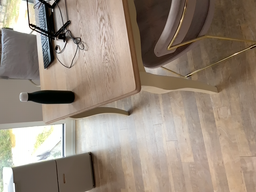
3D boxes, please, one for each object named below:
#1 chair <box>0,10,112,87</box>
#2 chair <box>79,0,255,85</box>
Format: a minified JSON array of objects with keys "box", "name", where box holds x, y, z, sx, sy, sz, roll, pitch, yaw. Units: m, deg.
[{"box":[-0.670,-0.350,1.970,0.590,0.870,0.460,-2,88,45],"name":"chair"},{"box":[0.230,-0.400,1.160,0.590,0.740,0.520,-16,78,44],"name":"chair"}]
